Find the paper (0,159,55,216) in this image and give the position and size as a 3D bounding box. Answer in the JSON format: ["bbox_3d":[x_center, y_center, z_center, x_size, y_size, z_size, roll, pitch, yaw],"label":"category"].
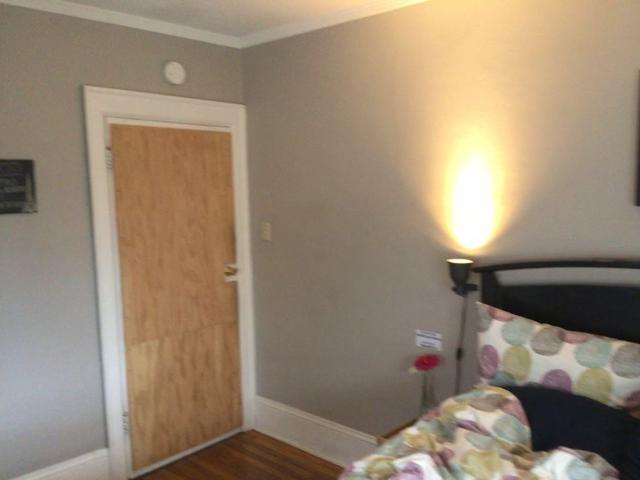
[{"bbox_3d":[-1.380,-0.240,2.660,0.250,0.250,0.130,-4,5,-43],"label":"paper"}]
